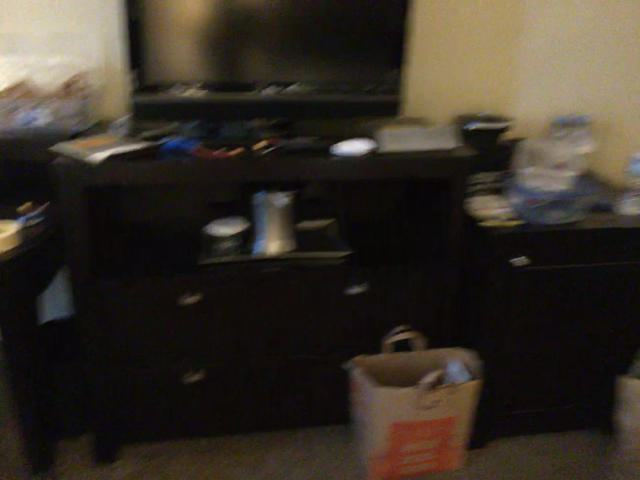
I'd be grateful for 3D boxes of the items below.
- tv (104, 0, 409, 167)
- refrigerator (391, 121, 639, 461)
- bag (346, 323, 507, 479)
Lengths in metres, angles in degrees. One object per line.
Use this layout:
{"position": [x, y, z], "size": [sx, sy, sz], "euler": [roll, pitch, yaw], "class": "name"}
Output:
{"position": [-0.160, -0.570, 1.620], "size": [0.780, 0.600, 0.170], "euler": [-9, 23, -9], "class": "tv"}
{"position": [0.690, 0.130, 1.990], "size": [0.740, 0.920, 0.650], "euler": [-4, 22, -5], "class": "refrigerator"}
{"position": [0.300, 0.510, 1.740], "size": [0.410, 0.430, 0.220], "euler": [-4, 22, -5], "class": "bag"}
